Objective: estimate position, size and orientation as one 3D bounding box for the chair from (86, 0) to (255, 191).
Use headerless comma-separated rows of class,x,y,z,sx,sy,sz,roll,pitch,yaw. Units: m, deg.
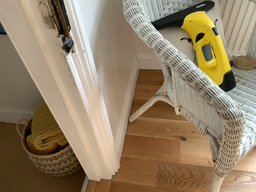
chair,0.310,-0.090,0.900,0.620,0.690,0.640,-30,53,-20
